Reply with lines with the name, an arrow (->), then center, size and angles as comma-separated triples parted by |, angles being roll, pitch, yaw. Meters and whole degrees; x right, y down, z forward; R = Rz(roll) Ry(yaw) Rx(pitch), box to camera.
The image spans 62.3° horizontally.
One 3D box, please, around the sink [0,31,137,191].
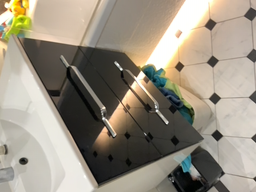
sink -> -0.310, 0.150, 0.760 | 0.630, 0.140, 0.460 | 51, 123, 28
